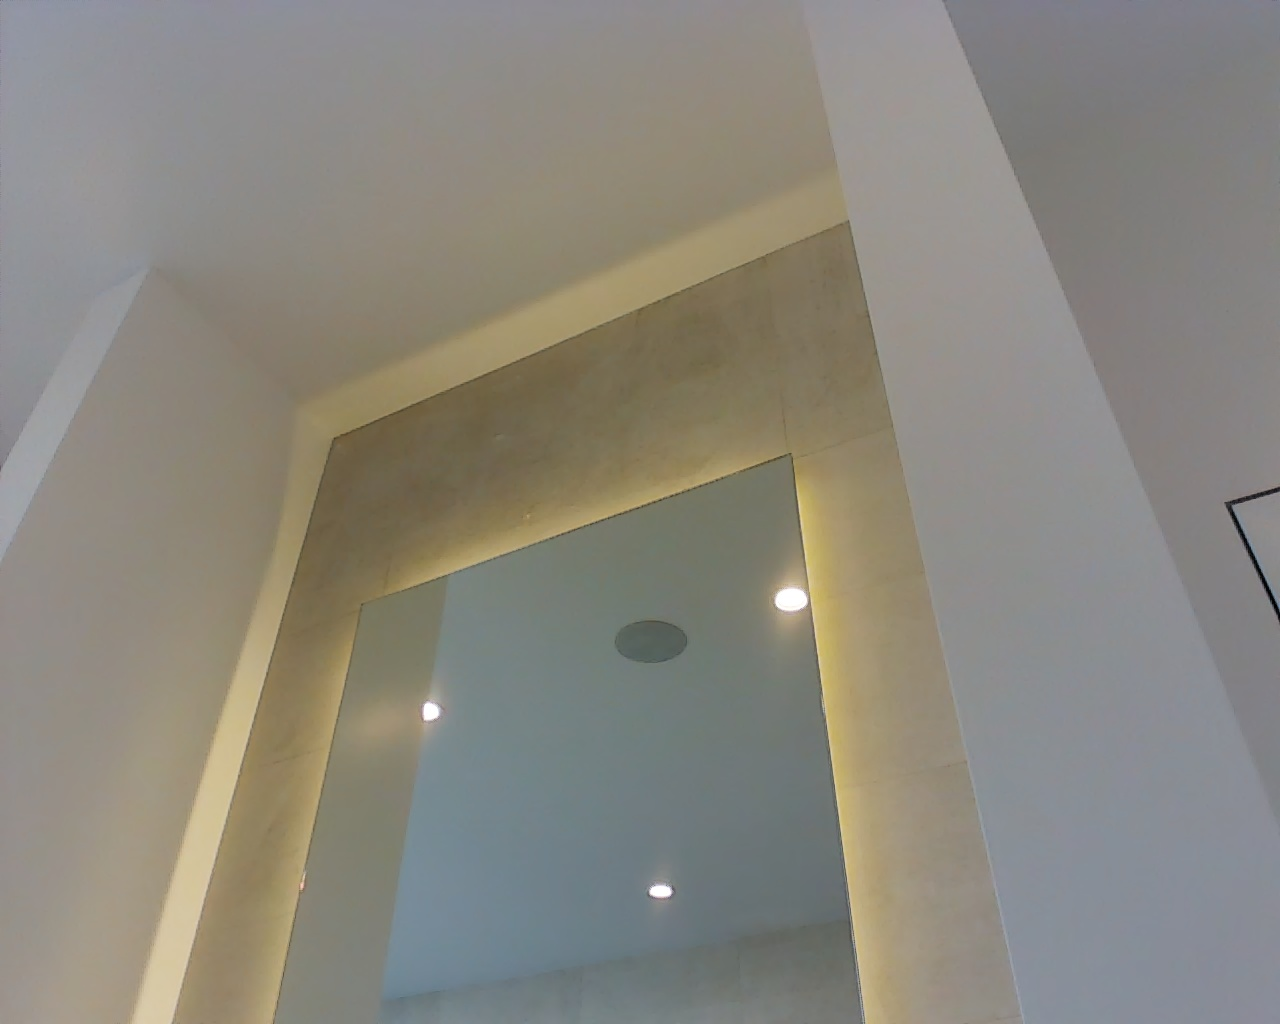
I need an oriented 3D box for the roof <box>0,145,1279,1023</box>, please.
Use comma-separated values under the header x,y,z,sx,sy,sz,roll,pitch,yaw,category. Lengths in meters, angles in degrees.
x,y,z,sx,sy,sz,roll,pitch,yaw,category
0.490,1.910,5.180,4.660,0.350,6.390,-19,-45,21,roof
